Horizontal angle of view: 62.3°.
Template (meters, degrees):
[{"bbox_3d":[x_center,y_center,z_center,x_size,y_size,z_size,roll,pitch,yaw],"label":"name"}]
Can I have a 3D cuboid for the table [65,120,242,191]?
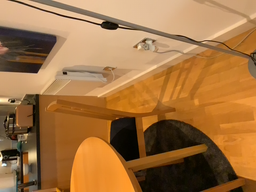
[{"bbox_3d":[0.100,0.840,1.570,1.170,0.730,1.140,-22,71,55],"label":"table"}]
